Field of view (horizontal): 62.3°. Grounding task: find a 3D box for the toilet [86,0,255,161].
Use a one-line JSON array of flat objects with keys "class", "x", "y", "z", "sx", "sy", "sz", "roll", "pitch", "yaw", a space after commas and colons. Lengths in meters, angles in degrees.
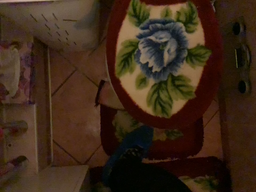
[{"class": "toilet", "x": 0.090, "y": -0.280, "z": 0.680, "sx": 0.380, "sy": 0.790, "sz": 0.730, "roll": -5, "pitch": 88, "yaw": -5}]
